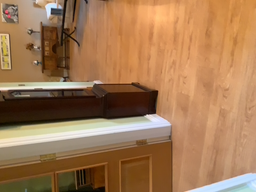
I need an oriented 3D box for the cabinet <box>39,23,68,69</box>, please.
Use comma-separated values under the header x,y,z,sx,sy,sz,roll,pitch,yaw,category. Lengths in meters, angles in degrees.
x,y,z,sx,sy,sz,roll,pitch,yaw,category
-2.280,-1.500,6.480,0.500,0.780,1.280,-151,62,-61,cabinet
